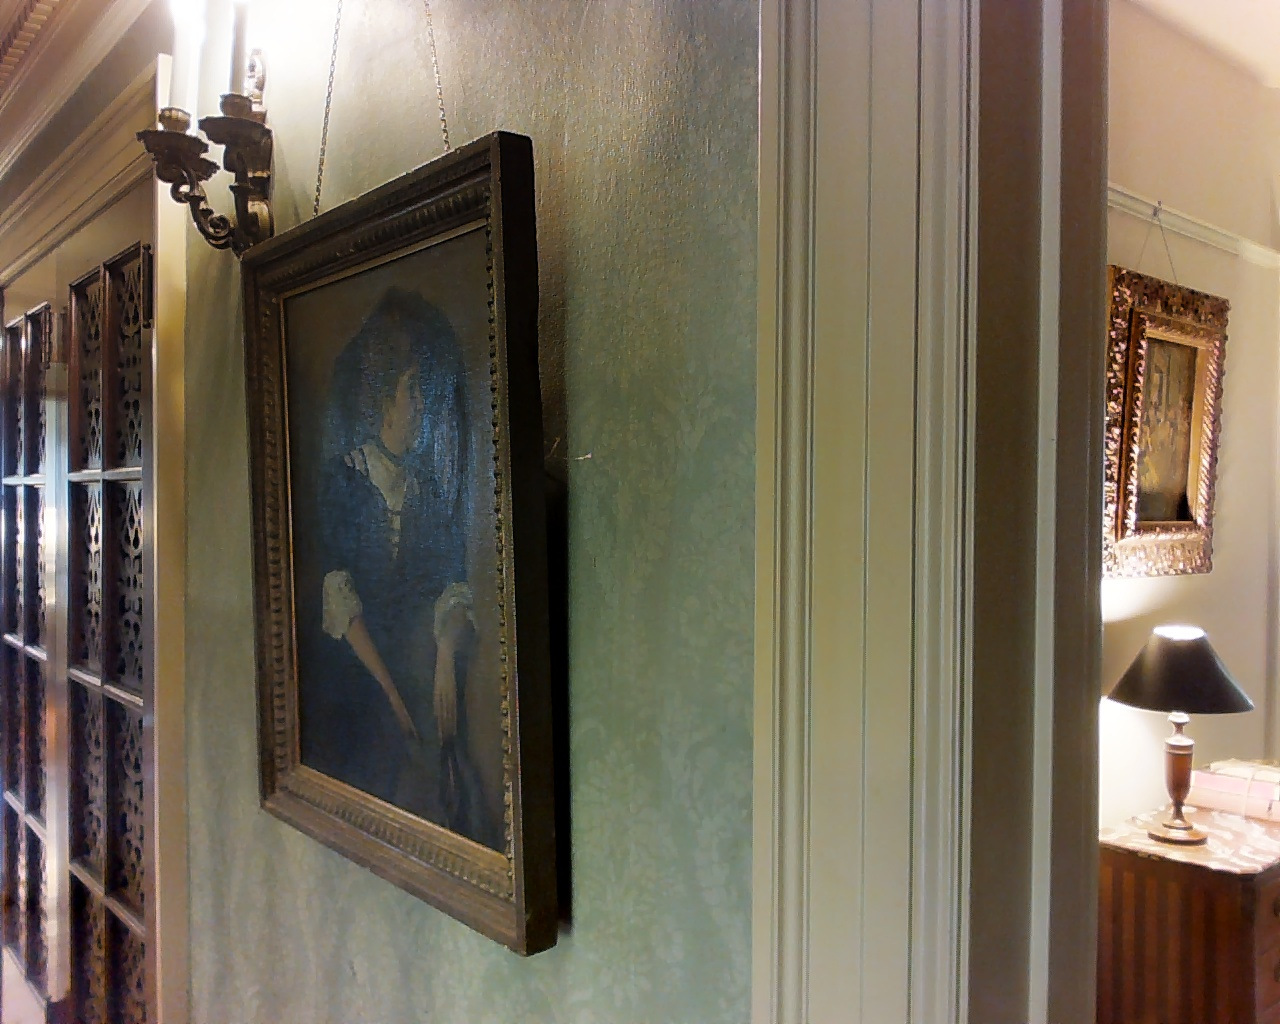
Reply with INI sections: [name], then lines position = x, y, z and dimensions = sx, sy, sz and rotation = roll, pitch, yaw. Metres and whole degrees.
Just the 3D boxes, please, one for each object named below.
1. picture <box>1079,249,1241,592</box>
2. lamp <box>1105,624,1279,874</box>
[picture]
position = 1.300, -0.210, 2.670
dimensions = 0.630, 0.770, 0.110
rotation = -1, 2, -41
[lamp]
position = 1.260, 0.520, 2.460
dimensions = 0.290, 0.480, 0.260
rotation = -1, 2, -41
